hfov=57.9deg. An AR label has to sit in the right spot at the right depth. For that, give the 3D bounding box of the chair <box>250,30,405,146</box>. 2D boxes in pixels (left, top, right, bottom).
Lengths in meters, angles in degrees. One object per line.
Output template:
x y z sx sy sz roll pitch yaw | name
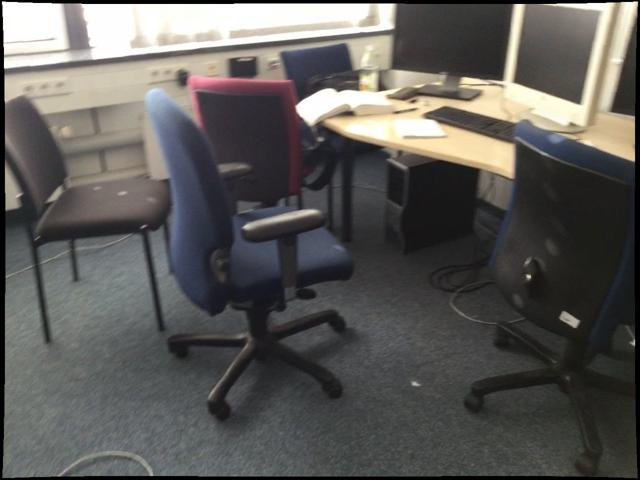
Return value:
0.030 -0.831 3.060 0.530 0.400 0.620 -20 34 -30 | chair

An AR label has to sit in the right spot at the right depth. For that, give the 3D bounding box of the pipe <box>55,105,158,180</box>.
-1.159 -0.541 3.160 0.450 0.280 0.210 -17 33 -25 | pipe

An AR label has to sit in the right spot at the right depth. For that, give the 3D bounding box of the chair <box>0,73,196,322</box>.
-0.889 -0.200 2.230 0.659 0.681 0.610 -10 30 -15 | chair

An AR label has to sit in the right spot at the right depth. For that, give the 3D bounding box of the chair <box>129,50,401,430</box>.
-0.190 -0.040 1.900 0.639 0.961 0.650 -11 31 -16 | chair

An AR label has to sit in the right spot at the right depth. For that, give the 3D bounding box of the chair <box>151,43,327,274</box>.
-0.320 -0.410 2.710 0.510 0.851 0.660 8 31 17 | chair

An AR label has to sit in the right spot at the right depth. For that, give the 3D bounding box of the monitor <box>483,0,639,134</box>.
0.859 -0.691 2.140 0.170 0.430 0.530 -12 31 -18 | monitor

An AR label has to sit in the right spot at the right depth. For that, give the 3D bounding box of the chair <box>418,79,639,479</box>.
0.759 0.080 1.730 0.600 0.901 0.640 -17 33 -25 | chair
